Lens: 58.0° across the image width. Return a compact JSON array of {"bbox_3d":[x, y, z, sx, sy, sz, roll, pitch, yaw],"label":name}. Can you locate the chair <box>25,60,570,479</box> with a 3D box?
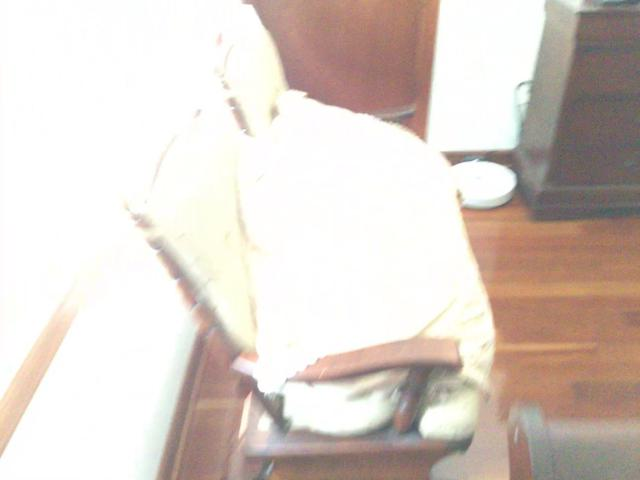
[{"bbox_3d":[-0.010,0.150,1.390,0.820,0.950,0.620,-1,34,4],"label":"chair"}]

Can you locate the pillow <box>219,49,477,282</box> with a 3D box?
[{"bbox_3d":[0.090,-0.270,1.820,0.620,0.420,0.750,-1,34,4],"label":"pillow"}]

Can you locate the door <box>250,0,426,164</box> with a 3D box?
[{"bbox_3d":[0.070,-1.250,2.430,0.750,1.950,0.210,-1,34,4],"label":"door"}]

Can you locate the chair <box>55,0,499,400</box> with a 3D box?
[{"bbox_3d":[-0.060,-0.160,1.860,0.950,1.000,0.850,-1,34,4],"label":"chair"}]
